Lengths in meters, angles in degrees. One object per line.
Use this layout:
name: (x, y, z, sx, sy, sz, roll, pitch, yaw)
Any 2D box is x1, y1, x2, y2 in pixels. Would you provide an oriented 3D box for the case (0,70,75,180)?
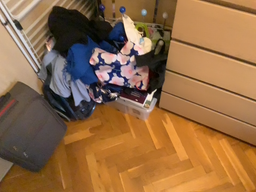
case: (-0.590, 0.200, 1.260, 0.240, 0.540, 0.420, 20, 63, 13)
